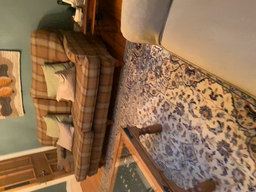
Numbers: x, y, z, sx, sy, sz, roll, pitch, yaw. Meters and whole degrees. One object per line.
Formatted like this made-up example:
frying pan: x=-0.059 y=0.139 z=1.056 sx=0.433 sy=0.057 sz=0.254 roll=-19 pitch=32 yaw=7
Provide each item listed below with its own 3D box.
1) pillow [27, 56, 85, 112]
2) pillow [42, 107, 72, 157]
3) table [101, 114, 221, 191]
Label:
pillow: x=-0.890 y=-0.140 z=2.650 sx=0.480 sy=0.450 sz=0.260 roll=48 pitch=-178 yaw=-45
pillow: x=-1.010 y=0.500 z=2.980 sx=0.400 sy=0.300 sz=0.510 roll=51 pitch=137 yaw=43
table: x=0.130 y=0.980 z=1.940 sx=0.800 sy=0.410 sz=1.370 roll=48 pitch=136 yaw=45
